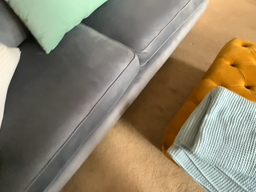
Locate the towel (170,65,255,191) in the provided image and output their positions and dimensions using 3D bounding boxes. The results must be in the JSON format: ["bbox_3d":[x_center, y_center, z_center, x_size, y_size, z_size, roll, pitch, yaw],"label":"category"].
[{"bbox_3d":[0.480,0.160,0.820,0.470,0.130,0.400,35,67,20],"label":"towel"}]

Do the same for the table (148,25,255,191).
[{"bbox_3d":[0.620,0.140,1.120,0.640,0.360,0.870,31,65,19],"label":"table"}]
